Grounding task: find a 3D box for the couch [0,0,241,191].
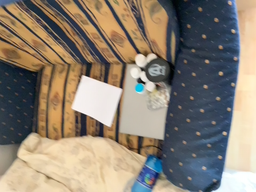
[{"bbox_3d":[-0.220,-0.130,1.160,1.450,1.020,0.970,3,87,27],"label":"couch"}]
